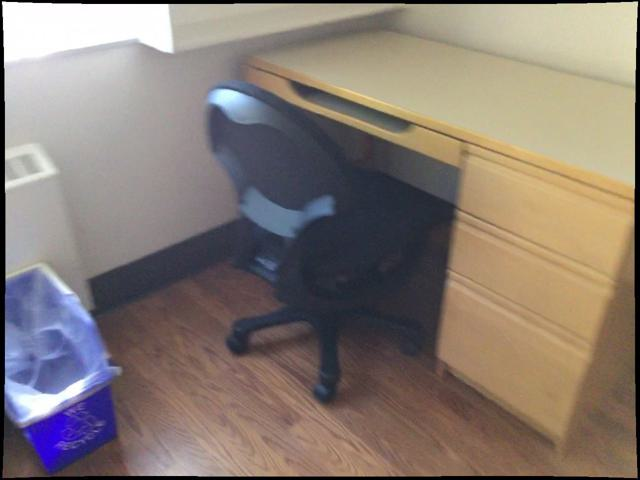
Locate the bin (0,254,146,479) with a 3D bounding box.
[{"bbox_3d":[-0.689,0.310,1.460,0.270,0.330,0.400,-28,45,-36],"label":"bin"}]

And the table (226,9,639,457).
[{"bbox_3d":[0.420,-0.170,1.850,0.750,0.751,1.290,-28,45,-36],"label":"table"}]
